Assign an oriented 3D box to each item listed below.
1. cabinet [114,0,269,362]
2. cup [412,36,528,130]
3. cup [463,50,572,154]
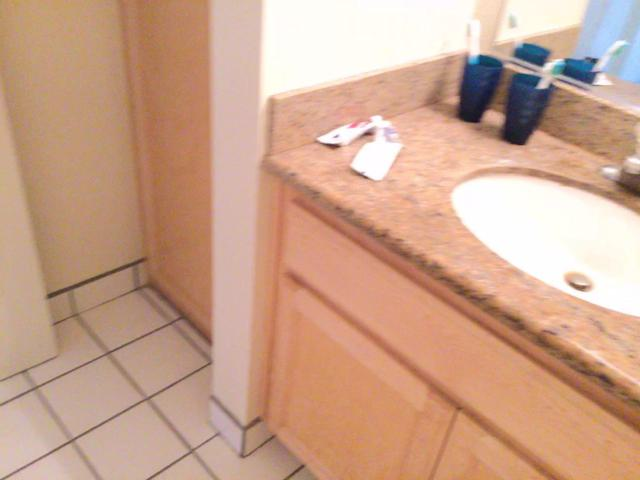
[{"bbox_3d":[-0.360,-0.240,1.450,0.100,1.180,0.420,-23,50,-40],"label":"cabinet"},{"bbox_3d":[0.310,-0.330,1.200,0.160,0.130,0.140,-23,46,-40],"label":"cup"},{"bbox_3d":[0.380,-0.270,1.120,0.130,0.150,0.110,-23,46,-40],"label":"cup"}]
